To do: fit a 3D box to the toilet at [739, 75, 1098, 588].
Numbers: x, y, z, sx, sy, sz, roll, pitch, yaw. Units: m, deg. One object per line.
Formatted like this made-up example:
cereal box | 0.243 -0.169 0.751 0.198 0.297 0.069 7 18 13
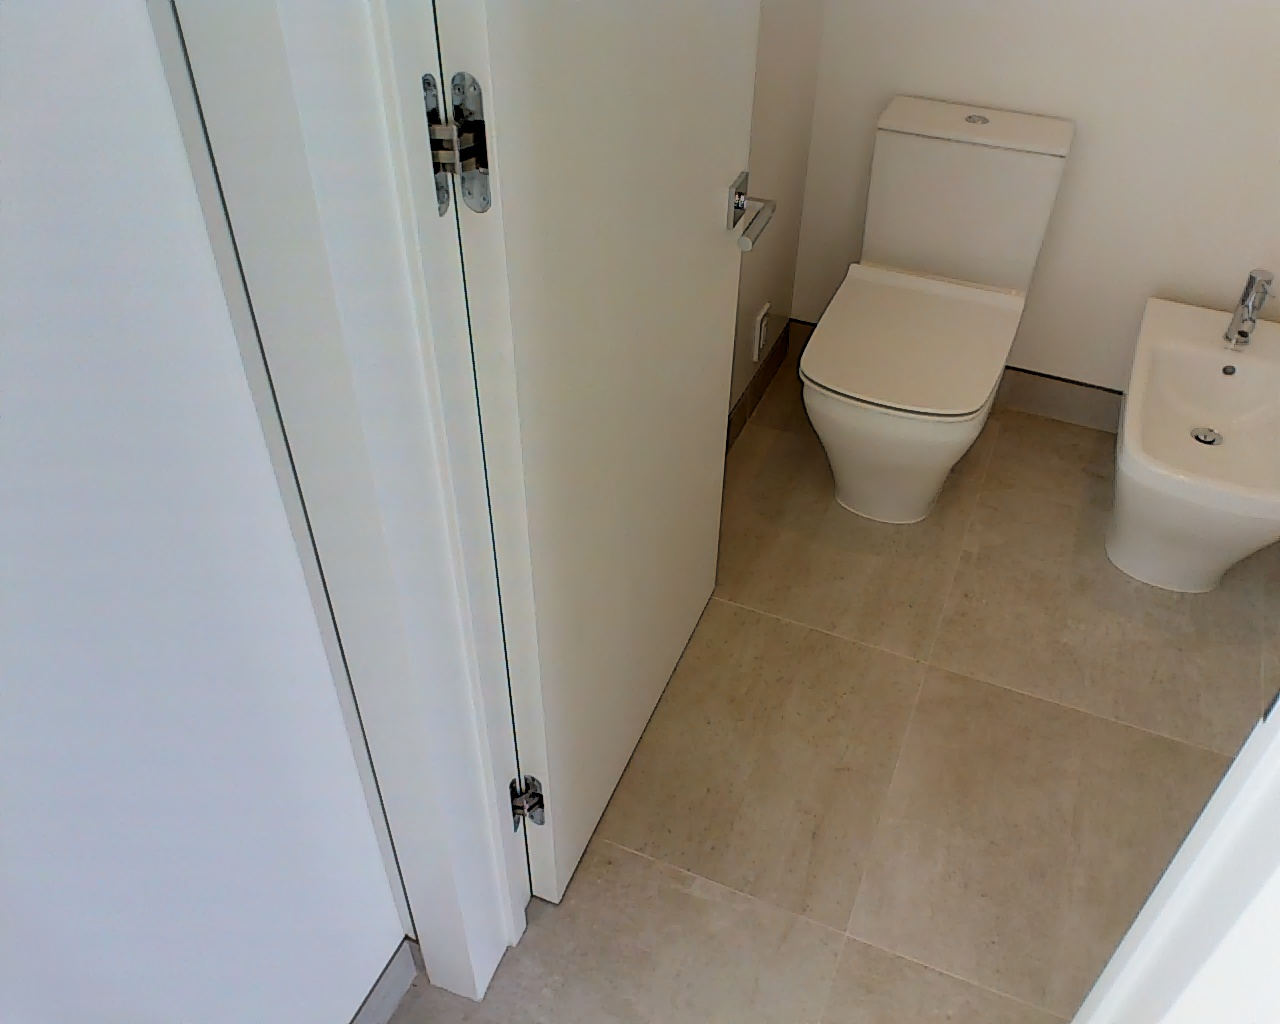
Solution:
toilet | 0.580 -0.400 2.280 0.480 0.730 0.720 16 44 17
